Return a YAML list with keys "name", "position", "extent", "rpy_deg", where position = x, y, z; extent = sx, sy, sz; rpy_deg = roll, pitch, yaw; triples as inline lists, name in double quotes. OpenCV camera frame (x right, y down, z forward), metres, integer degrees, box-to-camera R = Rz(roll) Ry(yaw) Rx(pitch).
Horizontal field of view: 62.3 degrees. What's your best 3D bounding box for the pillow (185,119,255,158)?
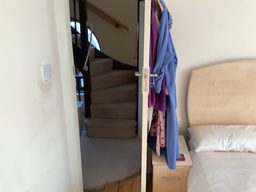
- name: "pillow"
  position: [0.900, 0.380, 1.970]
  extent: [0.670, 0.140, 0.420]
  rpy_deg: [2, 17, 7]
